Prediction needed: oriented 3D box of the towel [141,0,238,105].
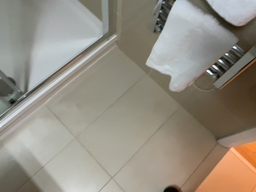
[{"bbox_3d":[0.200,-0.140,0.860,0.080,0.450,0.240,-42,79,-17],"label":"towel"}]
